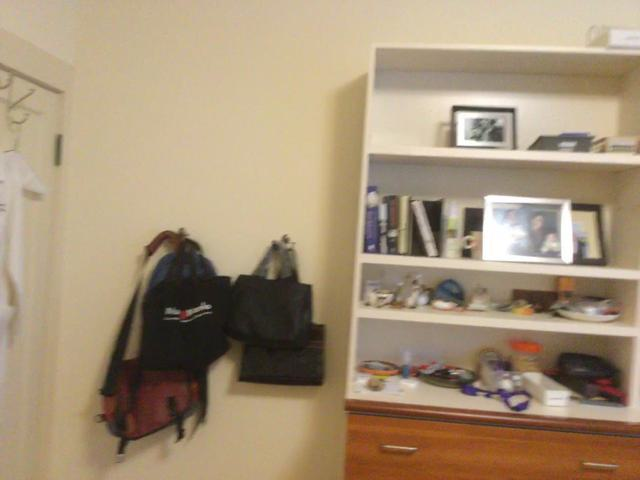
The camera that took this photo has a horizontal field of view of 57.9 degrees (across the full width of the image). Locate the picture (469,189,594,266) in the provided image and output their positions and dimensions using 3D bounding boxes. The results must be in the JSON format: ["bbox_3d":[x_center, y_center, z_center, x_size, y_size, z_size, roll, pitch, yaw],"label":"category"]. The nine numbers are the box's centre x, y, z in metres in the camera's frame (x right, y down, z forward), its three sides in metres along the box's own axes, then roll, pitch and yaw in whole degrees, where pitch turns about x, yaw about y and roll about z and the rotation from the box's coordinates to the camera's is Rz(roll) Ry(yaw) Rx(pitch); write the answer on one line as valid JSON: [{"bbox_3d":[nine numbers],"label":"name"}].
[{"bbox_3d":[0.690,-0.040,1.930,0.320,0.220,0.270,3,1,5],"label":"picture"}]

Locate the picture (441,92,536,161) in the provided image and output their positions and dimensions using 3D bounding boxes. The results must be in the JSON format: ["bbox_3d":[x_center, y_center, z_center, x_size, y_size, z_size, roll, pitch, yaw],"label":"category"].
[{"bbox_3d":[0.560,-0.380,1.960,0.260,0.180,0.220,3,1,5],"label":"picture"}]
